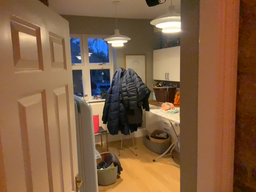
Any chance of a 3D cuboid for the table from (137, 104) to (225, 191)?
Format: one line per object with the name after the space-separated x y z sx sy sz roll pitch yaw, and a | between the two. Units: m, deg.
0.740 0.720 3.460 0.520 0.900 1.550 -5 9 -24 | table
